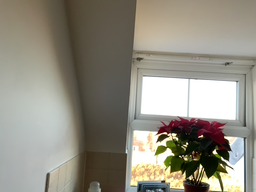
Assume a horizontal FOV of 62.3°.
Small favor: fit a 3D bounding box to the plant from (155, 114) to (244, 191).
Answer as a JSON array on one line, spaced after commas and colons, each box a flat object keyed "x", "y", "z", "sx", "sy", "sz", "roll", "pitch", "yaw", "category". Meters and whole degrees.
[{"x": 0.440, "y": 0.410, "z": 1.390, "sx": 0.460, "sy": 0.540, "sz": 0.320, "roll": 4, "pitch": -7, "yaw": -1, "category": "plant"}]
